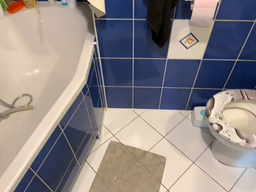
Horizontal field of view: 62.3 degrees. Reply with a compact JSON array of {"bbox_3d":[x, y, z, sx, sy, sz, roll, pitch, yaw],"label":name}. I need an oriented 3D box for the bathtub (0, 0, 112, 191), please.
[{"bbox_3d":[-0.570,0.110,1.240,0.740,0.610,1.590,2,50,3],"label":"bathtub"}]
